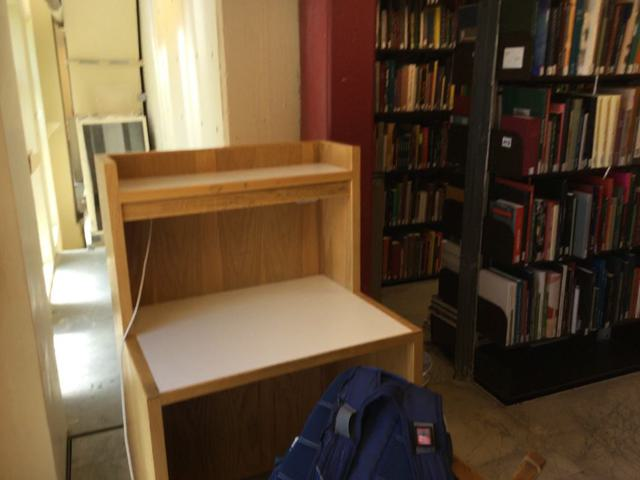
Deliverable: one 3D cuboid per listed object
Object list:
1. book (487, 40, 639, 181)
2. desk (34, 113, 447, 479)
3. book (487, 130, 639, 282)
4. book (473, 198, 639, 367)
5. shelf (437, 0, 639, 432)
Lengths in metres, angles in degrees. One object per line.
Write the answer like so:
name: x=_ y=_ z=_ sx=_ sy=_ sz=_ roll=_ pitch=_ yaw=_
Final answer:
book: x=1.520 y=-0.630 z=2.500 sx=1.590 sy=0.460 sz=0.390 roll=-10 pitch=19 yaw=-17
desk: x=-0.210 y=0.340 z=1.740 sx=0.880 sy=1.280 sz=0.750 roll=-12 pitch=19 yaw=-20
book: x=1.540 y=-0.240 z=2.580 sx=1.630 sy=0.470 sz=0.310 roll=-10 pitch=19 yaw=-17
book: x=1.460 y=0.110 z=2.670 sx=1.480 sy=0.480 sz=0.390 roll=-10 pitch=19 yaw=-17
shelf: x=1.470 y=-0.320 z=2.610 sx=1.760 sy=1.860 sz=0.580 roll=-10 pitch=19 yaw=-17
